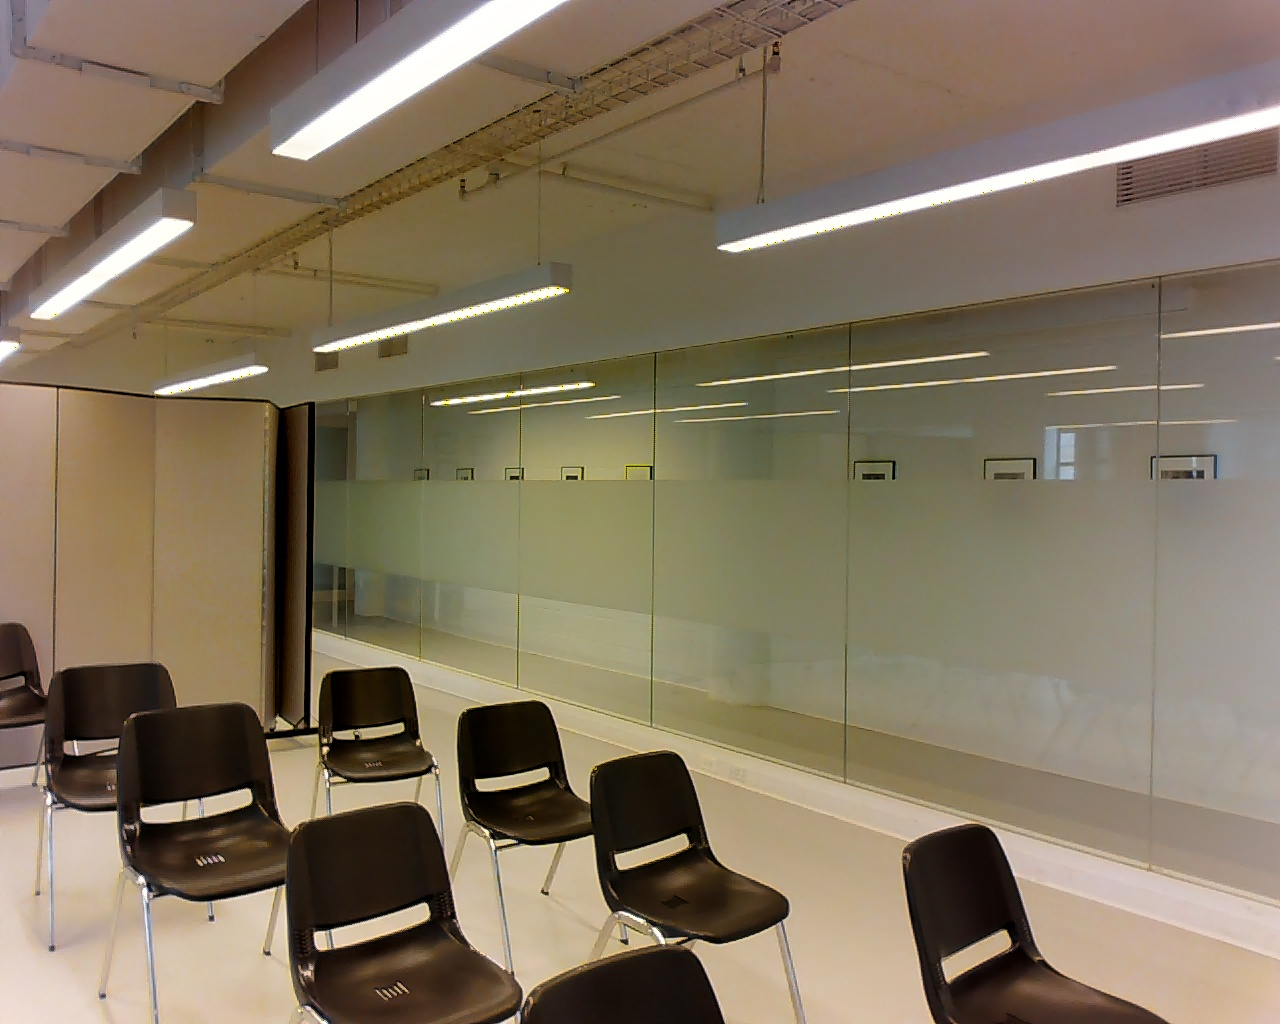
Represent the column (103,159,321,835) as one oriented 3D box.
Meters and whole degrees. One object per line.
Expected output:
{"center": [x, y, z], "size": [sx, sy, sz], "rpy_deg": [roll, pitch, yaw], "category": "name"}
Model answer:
{"center": [-2.160, -0.070, 5.310], "size": [0.580, 2.891, 1.400], "rpy_deg": [0, 1, -39], "category": "column"}
